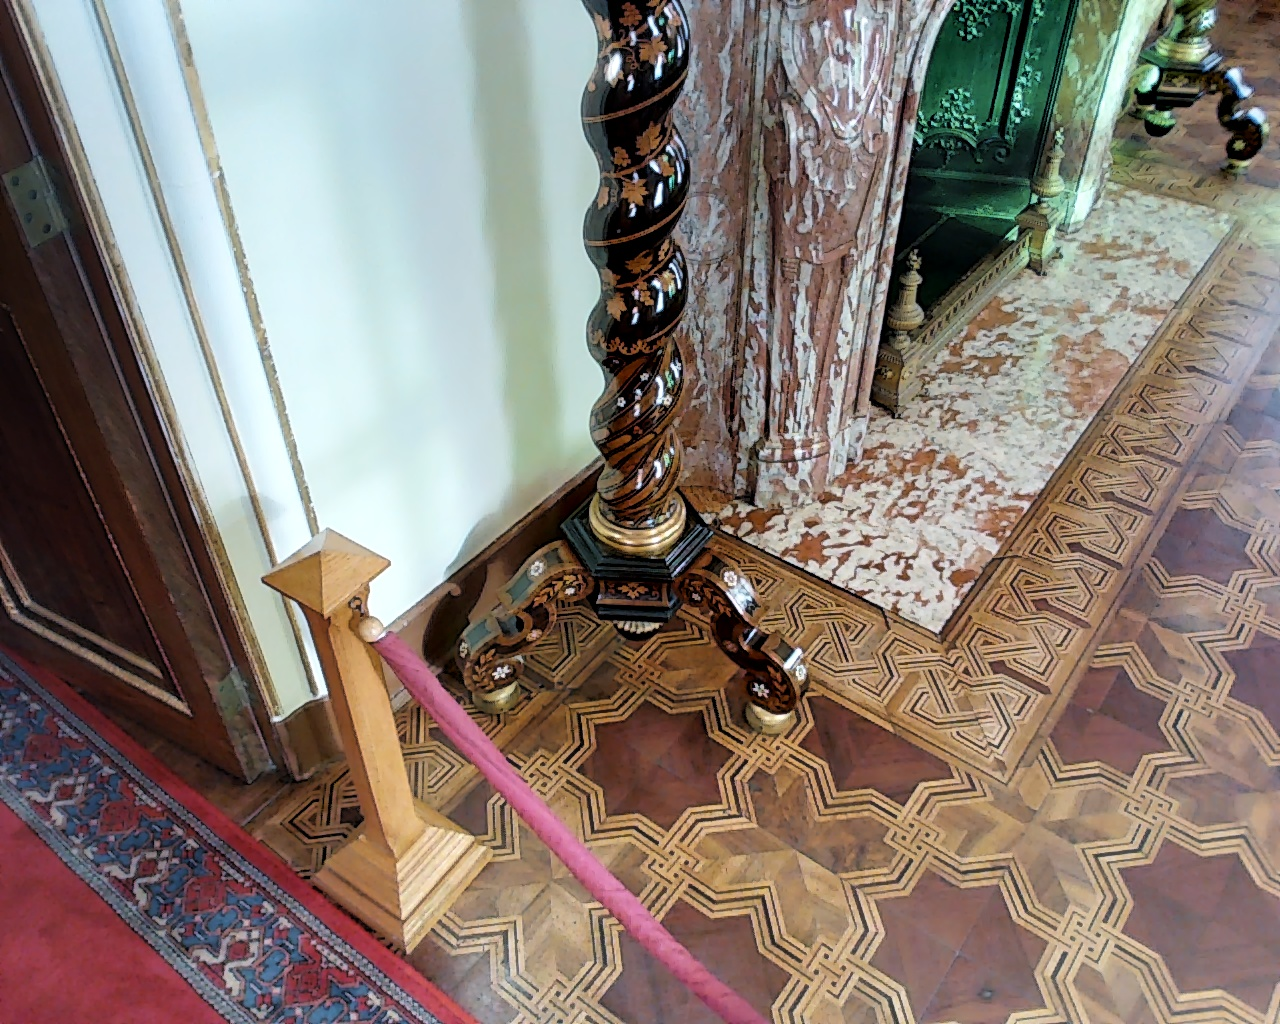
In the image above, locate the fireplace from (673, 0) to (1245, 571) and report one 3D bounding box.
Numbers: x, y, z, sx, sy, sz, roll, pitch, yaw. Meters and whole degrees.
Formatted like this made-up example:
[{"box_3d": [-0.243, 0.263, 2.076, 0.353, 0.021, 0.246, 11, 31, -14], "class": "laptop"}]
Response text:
[{"box_3d": [1.010, -1.220, 2.750, 0.460, 1.680, 2.420, 28, 49, 28], "class": "fireplace"}]
